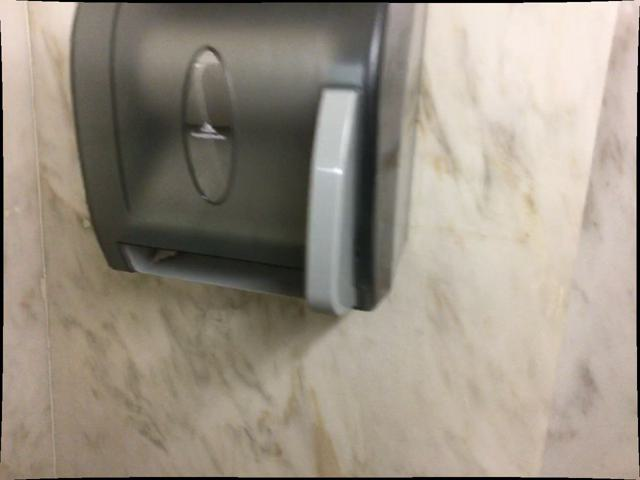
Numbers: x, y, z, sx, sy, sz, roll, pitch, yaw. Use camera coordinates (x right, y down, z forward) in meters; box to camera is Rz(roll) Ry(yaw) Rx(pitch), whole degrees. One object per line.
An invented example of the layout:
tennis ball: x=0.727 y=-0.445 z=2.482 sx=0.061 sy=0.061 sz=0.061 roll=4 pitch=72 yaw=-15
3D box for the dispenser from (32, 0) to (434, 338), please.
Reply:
dispenser: x=-0.070 y=-0.130 z=0.620 sx=0.330 sy=0.350 sz=0.260 roll=6 pitch=14 yaw=16
